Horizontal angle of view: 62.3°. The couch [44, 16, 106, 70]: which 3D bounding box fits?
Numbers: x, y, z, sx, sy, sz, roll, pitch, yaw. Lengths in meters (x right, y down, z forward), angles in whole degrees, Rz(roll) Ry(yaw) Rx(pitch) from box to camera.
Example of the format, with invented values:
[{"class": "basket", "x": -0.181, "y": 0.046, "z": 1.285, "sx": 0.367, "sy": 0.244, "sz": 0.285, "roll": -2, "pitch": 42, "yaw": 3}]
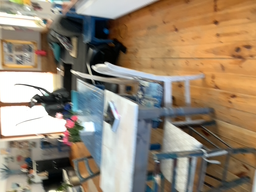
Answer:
[{"class": "couch", "x": -1.620, "y": -1.250, "z": 5.530, "sx": 3.840, "sy": 0.790, "sz": 0.880, "roll": -158, "pitch": 70, "yaw": -62}]
